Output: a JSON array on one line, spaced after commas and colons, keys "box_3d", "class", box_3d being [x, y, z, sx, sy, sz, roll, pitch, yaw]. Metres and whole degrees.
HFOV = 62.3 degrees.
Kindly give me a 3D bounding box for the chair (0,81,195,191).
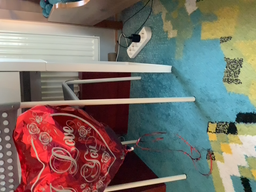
[{"box_3d": [-0.180, 0.140, 0.910, 0.450, 0.750, 0.340, -155, 65, -62], "class": "chair"}]
